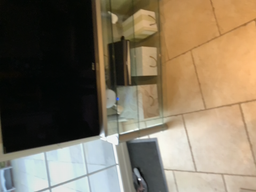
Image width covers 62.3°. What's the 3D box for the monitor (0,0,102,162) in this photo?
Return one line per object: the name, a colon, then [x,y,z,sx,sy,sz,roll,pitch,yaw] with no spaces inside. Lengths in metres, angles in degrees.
monitor: [-0.530,-0.190,1.420,0.050,0.630,1.080,3,104,50]
